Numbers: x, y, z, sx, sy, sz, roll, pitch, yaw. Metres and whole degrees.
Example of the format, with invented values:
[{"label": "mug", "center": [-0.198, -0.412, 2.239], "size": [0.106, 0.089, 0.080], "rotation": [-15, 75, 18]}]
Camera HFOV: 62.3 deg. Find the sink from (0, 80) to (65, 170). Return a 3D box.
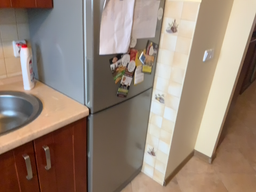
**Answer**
[{"label": "sink", "center": [-0.660, 0.130, 1.080], "size": [0.460, 0.190, 0.460], "rotation": [24, 31, 33]}]
